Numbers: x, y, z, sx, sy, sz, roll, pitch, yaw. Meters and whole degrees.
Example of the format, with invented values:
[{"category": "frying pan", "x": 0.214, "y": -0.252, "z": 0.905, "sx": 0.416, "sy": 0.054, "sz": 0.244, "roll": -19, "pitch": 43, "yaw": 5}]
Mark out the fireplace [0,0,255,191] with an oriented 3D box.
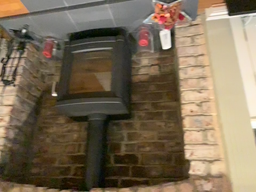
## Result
[{"category": "fireplace", "x": -0.250, "y": 0.150, "z": 1.470, "sx": 1.750, "sy": 1.500, "sz": 0.660, "roll": -3, "pitch": 156, "yaw": 11}]
